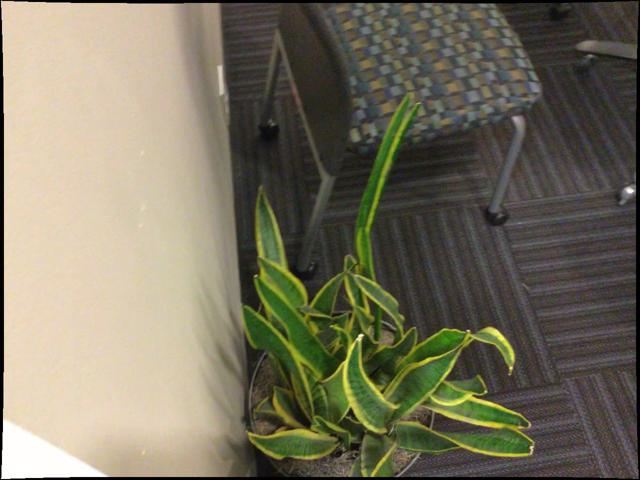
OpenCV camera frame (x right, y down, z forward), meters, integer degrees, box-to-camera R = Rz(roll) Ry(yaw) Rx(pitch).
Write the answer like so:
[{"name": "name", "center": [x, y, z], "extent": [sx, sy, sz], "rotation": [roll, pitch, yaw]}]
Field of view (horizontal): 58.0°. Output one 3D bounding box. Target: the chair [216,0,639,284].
[{"name": "chair", "center": [0.120, -0.341, 1.290], "extent": [0.668, 0.791, 0.491], "rotation": [-3, 55, -9]}]

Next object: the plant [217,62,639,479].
[{"name": "plant", "center": [0.050, 0.200, 0.990], "extent": [0.389, 0.731, 0.631], "rotation": [-3, 55, -9]}]
